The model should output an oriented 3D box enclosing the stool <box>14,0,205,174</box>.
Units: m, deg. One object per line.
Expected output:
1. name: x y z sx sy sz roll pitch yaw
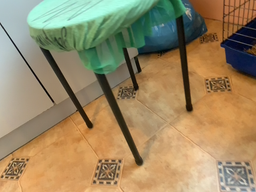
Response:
1. stool: -0.020 -0.100 0.620 0.330 0.460 0.320 -33 43 -16
